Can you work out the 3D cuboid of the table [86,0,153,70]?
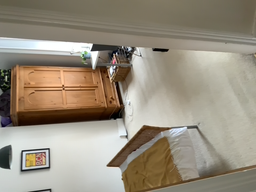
[{"bbox_3d":[-0.210,-1.000,3.550,1.010,0.740,0.610,123,139,-51],"label":"table"}]
